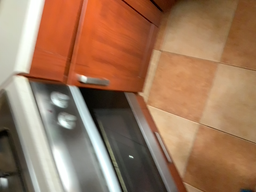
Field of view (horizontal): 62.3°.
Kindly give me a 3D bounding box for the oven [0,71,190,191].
[{"bbox_3d":[-0.230,0.350,0.890,0.630,0.710,0.580,-30,74,25],"label":"oven"}]
